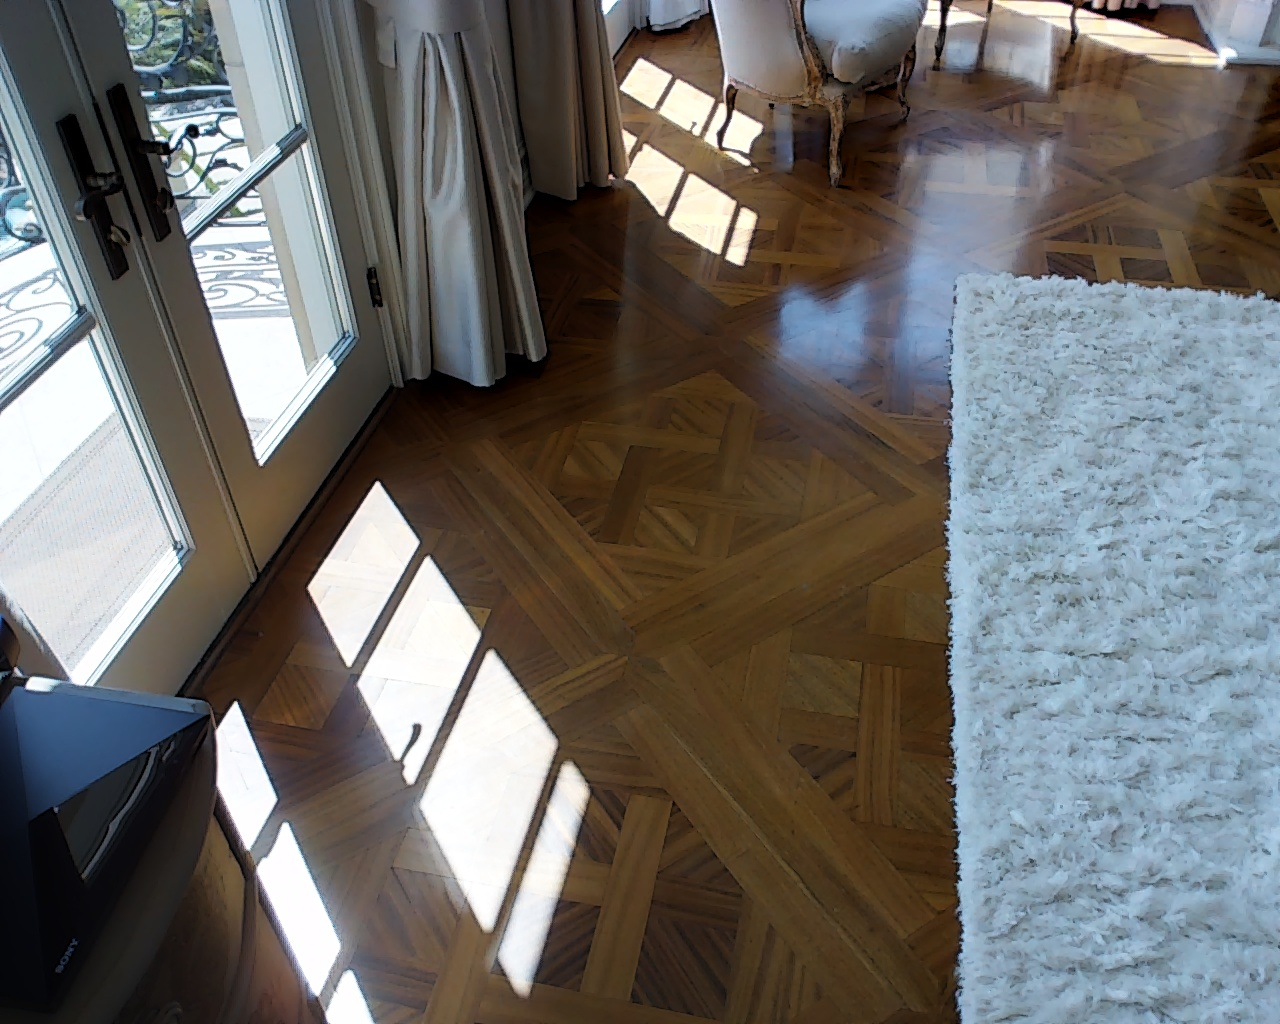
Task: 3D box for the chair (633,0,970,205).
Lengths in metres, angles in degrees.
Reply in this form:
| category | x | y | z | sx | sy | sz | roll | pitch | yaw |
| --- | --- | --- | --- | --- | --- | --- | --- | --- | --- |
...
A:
| category | x | y | z | sx | sy | sz | roll | pitch | yaw |
| --- | --- | --- | --- | --- | --- | --- | --- | --- | --- |
| chair | 0.590 | -1.750 | 3.840 | 0.930 | 0.850 | 0.830 | 20 | 45 | 23 |

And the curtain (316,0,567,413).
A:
| category | x | y | z | sx | sy | sz | roll | pitch | yaw |
| --- | --- | --- | --- | --- | --- | --- | --- | --- | --- |
| curtain | -0.460 | -1.430 | 2.110 | 0.340 | 2.670 | 0.440 | 7 | 41 | 10 |

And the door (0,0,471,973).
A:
| category | x | y | z | sx | sy | sz | roll | pitch | yaw |
| --- | --- | --- | --- | --- | --- | --- | --- | --- | --- |
| door | -0.780 | -0.890 | 1.470 | 0.170 | 2.620 | 1.830 | 7 | 41 | 10 |
